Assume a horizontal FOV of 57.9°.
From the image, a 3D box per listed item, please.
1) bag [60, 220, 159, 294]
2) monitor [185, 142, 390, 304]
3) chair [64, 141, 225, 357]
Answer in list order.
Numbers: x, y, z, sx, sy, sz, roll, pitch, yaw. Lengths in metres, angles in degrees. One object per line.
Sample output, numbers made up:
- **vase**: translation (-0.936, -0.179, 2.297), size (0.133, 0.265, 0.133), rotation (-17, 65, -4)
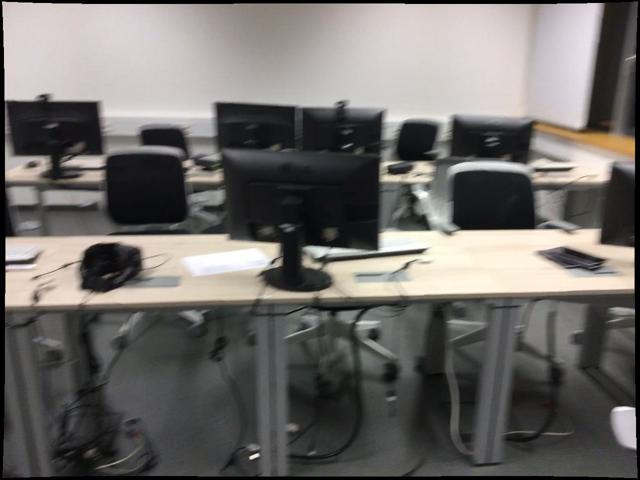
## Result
- **bag**: translation (-0.719, 0.050, 2.020), size (0.220, 0.130, 0.350), rotation (-2, 20, -2)
- **monitor**: translation (-0.090, -0.070, 1.900), size (0.599, 0.450, 0.250), rotation (3, 20, 12)
- **chair**: translation (-0.879, 0.000, 3.130), size (0.639, 0.911, 0.780), rotation (-4, 20, -9)
